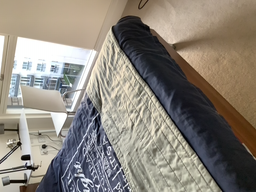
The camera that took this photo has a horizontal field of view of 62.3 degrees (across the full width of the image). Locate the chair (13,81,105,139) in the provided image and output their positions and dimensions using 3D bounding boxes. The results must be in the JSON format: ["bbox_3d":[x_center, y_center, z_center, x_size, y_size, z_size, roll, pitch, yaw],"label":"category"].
[{"bbox_3d":[-0.790,0.160,2.440,0.490,0.860,0.360,-60,45,33],"label":"chair"}]

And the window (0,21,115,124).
[{"bbox_3d":[-1.320,-0.170,2.230,1.230,2.150,0.190,-59,45,34],"label":"window"}]

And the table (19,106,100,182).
[{"bbox_3d":[-0.880,0.540,2.650,0.390,0.740,0.790,-60,44,32],"label":"table"}]
